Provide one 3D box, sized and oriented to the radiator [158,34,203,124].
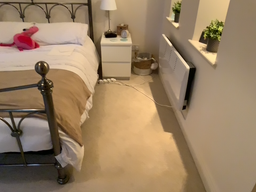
[{"bbox_3d":[0.500,-0.240,2.270,0.150,0.570,0.990,0,32,-2],"label":"radiator"}]
